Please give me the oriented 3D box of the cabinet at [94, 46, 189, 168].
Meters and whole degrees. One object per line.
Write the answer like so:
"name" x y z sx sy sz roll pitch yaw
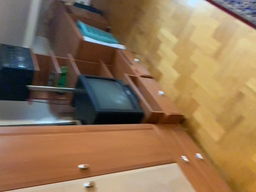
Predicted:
"cabinet" 0.050 0.080 2.330 1.070 0.280 0.760 58 131 40
